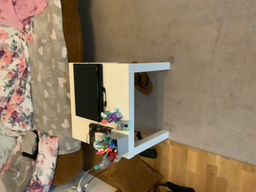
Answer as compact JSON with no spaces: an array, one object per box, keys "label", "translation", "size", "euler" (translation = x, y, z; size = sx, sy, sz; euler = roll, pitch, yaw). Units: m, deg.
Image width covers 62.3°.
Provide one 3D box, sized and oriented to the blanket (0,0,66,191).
[{"label":"blanket","translation":[-1.020,-0.140,1.930],"size":[1.180,0.170,1.800],"euler":[10,104,39]}]
